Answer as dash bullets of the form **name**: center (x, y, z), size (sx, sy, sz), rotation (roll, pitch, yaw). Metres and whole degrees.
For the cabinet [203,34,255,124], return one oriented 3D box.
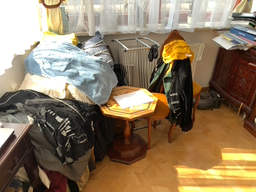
- **cabinet**: center (1.390, -0.250, 2.600), size (0.390, 0.790, 0.820), rotation (-6, 32, -13)
